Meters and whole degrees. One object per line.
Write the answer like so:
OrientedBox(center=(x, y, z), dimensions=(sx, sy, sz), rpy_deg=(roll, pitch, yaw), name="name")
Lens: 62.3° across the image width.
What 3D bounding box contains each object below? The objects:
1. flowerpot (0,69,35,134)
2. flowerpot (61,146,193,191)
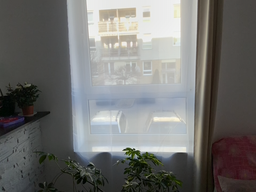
OrientedBox(center=(-1.160, 0.030, 1.860), dimensions=(0.490, 0.510, 0.350), rpy_deg=(-1, 8, 4), name="flowerpot")
OrientedBox(center=(0.010, 0.870, 1.480), dimensions=(0.700, 0.820, 0.630), rpy_deg=(-2, 8, 2), name="flowerpot")
